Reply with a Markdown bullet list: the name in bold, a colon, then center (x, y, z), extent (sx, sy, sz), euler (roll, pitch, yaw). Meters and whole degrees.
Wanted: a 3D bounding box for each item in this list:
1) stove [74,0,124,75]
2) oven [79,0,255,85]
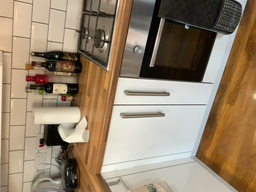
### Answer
- **stove**: center (-0.170, -0.490, 1.170), extent (0.550, 0.030, 0.610), euler (37, 121, 53)
- **oven**: center (0.240, -0.470, 1.390), extent (0.590, 0.900, 0.610), euler (37, 121, 53)
